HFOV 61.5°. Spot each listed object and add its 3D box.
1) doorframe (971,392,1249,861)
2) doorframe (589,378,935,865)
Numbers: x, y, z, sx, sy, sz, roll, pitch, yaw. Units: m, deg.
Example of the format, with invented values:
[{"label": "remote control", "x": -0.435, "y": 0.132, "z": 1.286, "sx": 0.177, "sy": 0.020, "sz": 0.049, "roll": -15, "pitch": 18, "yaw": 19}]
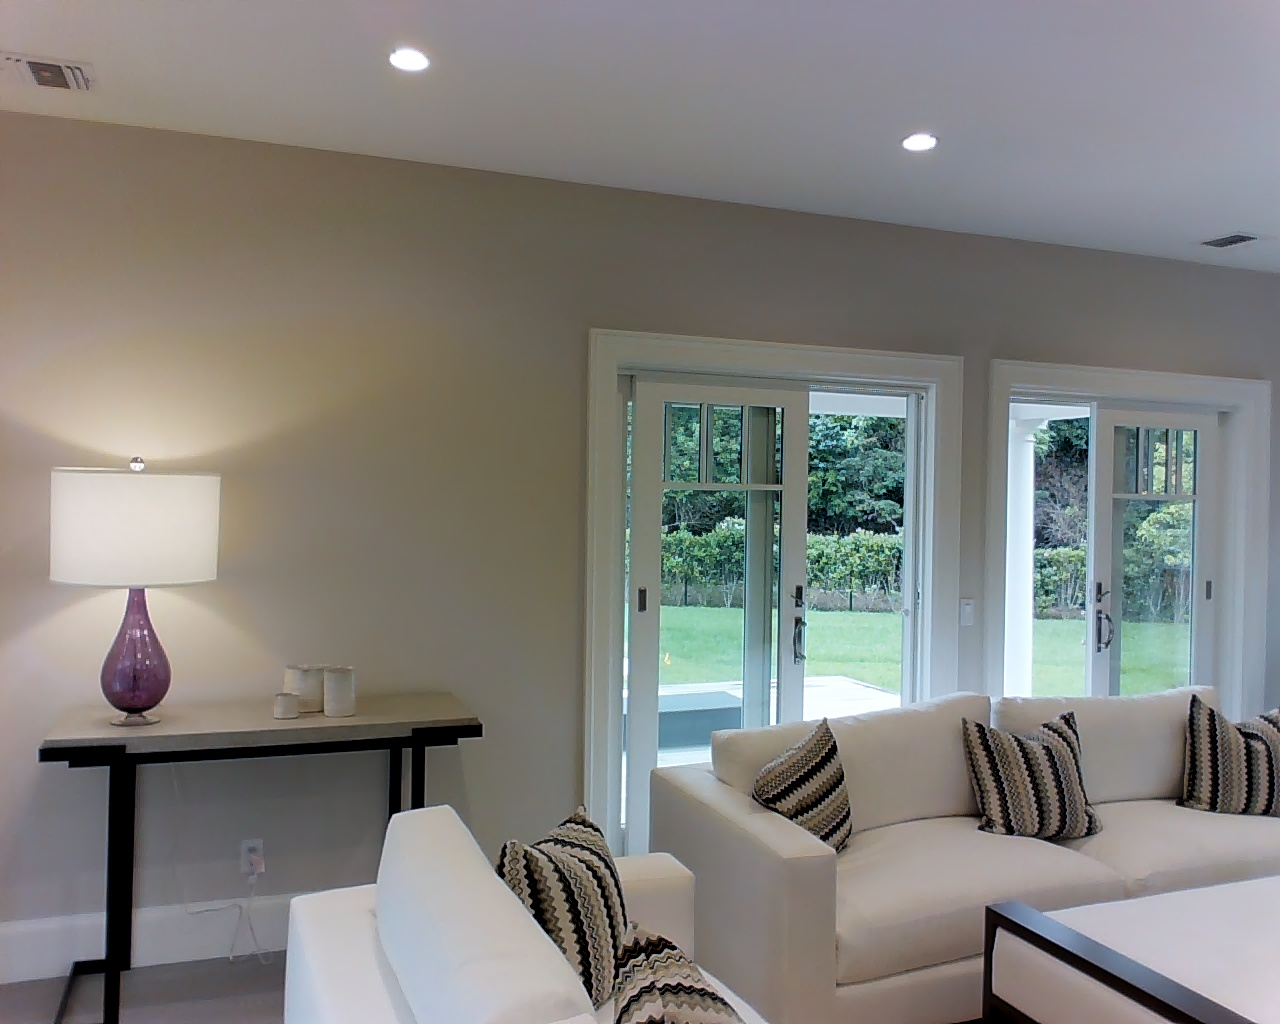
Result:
[{"label": "doorframe", "x": 2.270, "y": 0.520, "z": 5.150, "sx": 1.440, "sy": 2.090, "sz": 0.220, "roll": 1, "pitch": 0, "yaw": -21}, {"label": "doorframe", "x": 0.530, "y": 0.430, "z": 4.480, "sx": 1.450, "sy": 1.860, "sz": 0.240, "roll": 1, "pitch": 0, "yaw": -21}]
